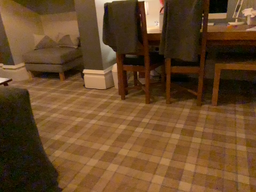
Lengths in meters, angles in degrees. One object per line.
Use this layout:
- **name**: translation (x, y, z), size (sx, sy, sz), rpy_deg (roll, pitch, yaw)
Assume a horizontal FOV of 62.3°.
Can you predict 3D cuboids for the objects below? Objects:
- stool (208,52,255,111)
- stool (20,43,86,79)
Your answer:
- **stool**: translation (1.210, -0.180, 2.240), size (0.580, 0.450, 0.540), rpy_deg (8, 26, 27)
- **stool**: translation (-1.250, -0.620, 3.610), size (0.790, 0.430, 0.610), rpy_deg (7, 26, 25)
